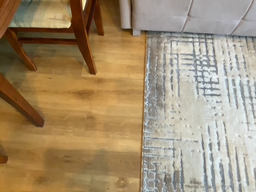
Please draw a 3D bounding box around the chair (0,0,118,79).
[{"bbox_3d":[-0.360,-0.540,1.020,0.540,0.960,0.460,5,65,2],"label":"chair"}]
